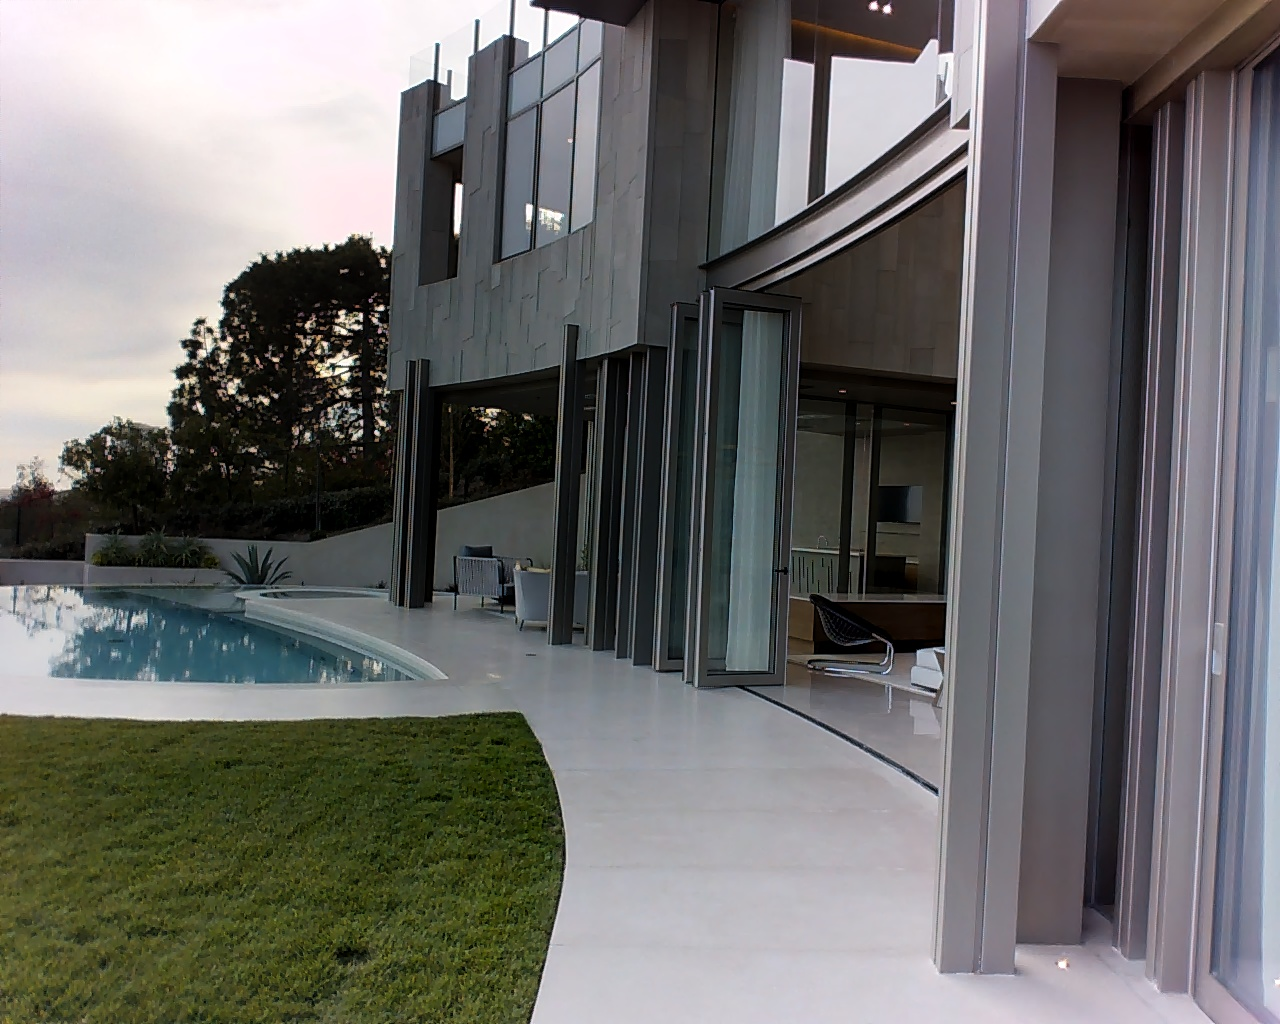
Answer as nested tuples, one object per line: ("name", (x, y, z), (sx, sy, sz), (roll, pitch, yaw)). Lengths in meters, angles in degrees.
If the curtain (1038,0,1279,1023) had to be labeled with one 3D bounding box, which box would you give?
("curtain", (2.190, 0.020, 3.590), (0.860, 3.130, 2.040), (3, 0, 2))
